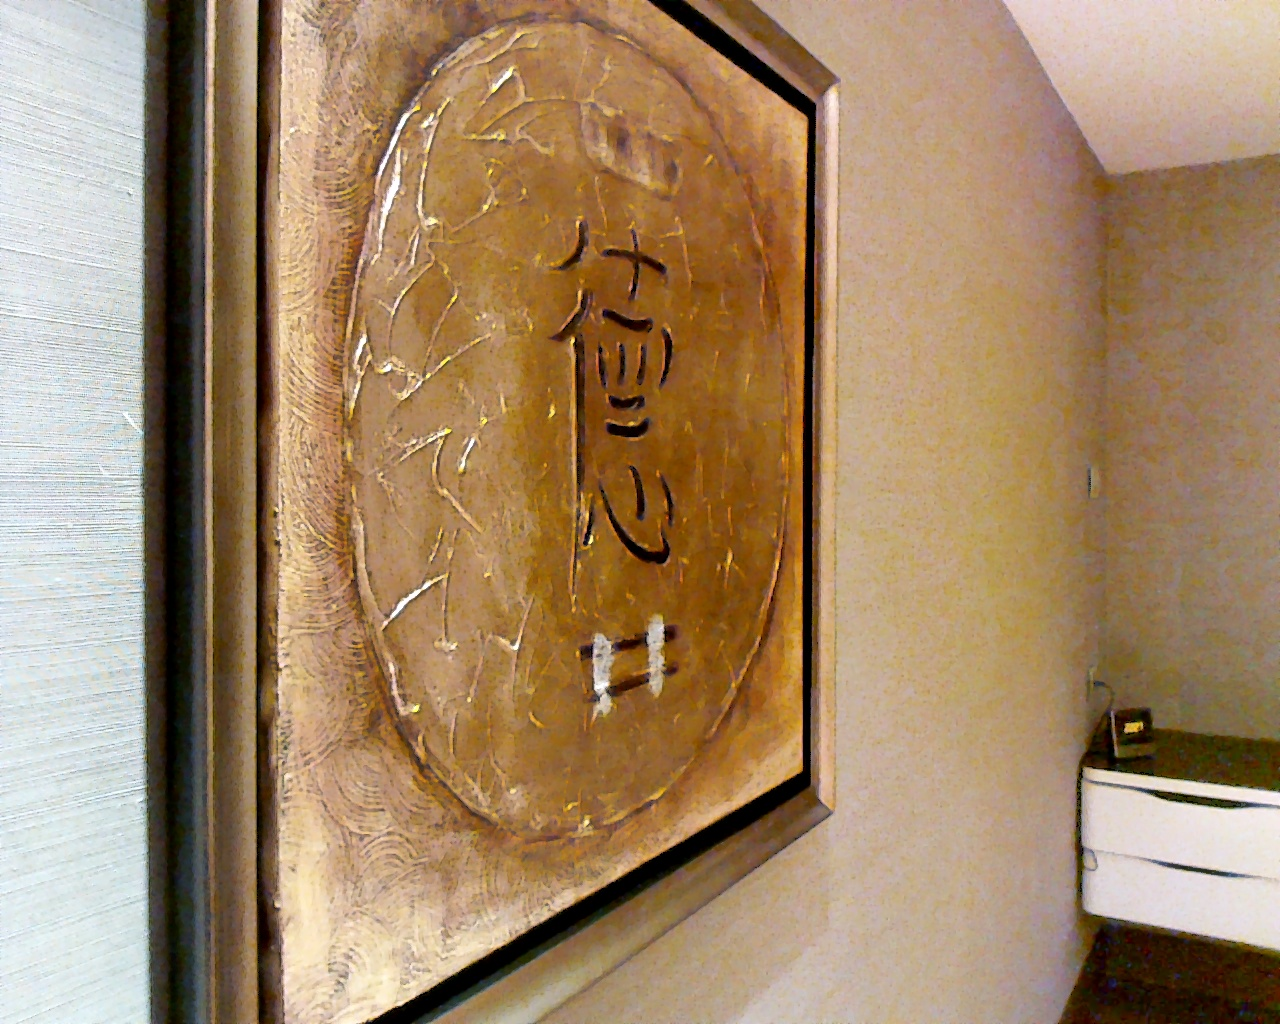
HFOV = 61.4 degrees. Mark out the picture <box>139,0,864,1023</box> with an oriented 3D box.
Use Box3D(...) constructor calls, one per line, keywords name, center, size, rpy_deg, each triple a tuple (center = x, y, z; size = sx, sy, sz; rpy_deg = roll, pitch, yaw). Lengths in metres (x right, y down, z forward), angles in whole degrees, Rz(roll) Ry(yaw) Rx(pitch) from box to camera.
Box3D(name="picture", center=(0.000, -0.040, 0.940), size=(0.070, 0.870, 0.900), rpy_deg=(1, 1, 32))
